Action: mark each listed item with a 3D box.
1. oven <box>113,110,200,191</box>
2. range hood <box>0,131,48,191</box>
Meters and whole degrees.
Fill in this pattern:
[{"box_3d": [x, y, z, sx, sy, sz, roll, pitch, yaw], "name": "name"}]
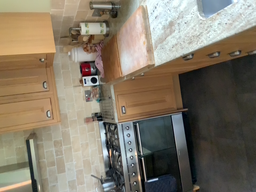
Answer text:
[{"box_3d": [0.320, 0.680, 2.590, 0.610, 0.730, 0.920, 169, 93, -68], "name": "oven"}, {"box_3d": [-1.200, 0.900, 2.210, 0.660, 0.620, 0.850, -172, 76, -67], "name": "range hood"}]
